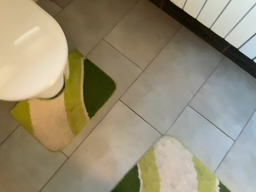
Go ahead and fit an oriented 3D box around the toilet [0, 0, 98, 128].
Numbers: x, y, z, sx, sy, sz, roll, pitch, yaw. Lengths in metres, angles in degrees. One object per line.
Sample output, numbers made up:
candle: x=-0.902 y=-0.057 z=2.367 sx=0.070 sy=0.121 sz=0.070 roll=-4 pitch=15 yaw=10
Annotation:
toilet: x=-0.490 y=-0.250 z=0.800 sx=0.580 sy=0.770 sz=0.370 roll=39 pitch=77 yaw=7
